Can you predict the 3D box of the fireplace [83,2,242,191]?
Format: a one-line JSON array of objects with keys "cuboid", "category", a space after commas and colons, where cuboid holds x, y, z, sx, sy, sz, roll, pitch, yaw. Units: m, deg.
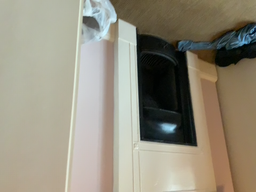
[{"cuboid": [0.250, 0.140, 1.440, 1.000, 1.160, 0.340, 12, 156, -33], "category": "fireplace"}]
